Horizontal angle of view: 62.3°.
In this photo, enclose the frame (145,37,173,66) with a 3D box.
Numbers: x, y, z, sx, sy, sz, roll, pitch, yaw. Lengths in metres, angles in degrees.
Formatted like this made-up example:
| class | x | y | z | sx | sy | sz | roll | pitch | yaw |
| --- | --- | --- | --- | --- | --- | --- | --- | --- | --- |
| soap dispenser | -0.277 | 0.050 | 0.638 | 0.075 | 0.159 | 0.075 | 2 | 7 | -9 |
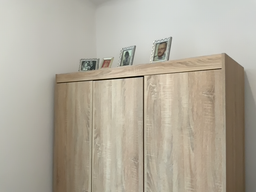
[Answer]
| class | x | y | z | sx | sy | sz | roll | pitch | yaw |
| --- | --- | --- | --- | --- | --- | --- | --- | --- | --- |
| frame | 0.190 | -0.270 | 1.310 | 0.150 | 0.140 | 0.070 | -7 | -6 | 37 |
